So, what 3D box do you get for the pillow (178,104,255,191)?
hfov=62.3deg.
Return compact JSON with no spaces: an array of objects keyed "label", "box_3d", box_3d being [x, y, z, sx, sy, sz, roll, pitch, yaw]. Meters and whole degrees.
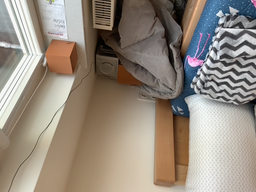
[{"label":"pillow","box_3d":[0.480,0.310,1.030,0.390,0.430,0.240,9,141,-2]}]
